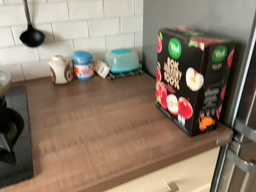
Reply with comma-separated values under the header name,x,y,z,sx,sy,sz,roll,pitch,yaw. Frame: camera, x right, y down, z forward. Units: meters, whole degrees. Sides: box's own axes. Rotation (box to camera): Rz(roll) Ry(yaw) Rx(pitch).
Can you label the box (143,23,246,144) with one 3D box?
name,x,y,z,sx,sy,sz,roll,pitch,yaw
box,0.160,-0.050,0.600,0.140,0.260,0.210,-13,31,-22
